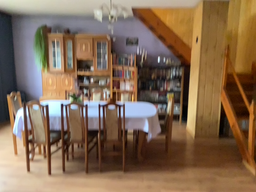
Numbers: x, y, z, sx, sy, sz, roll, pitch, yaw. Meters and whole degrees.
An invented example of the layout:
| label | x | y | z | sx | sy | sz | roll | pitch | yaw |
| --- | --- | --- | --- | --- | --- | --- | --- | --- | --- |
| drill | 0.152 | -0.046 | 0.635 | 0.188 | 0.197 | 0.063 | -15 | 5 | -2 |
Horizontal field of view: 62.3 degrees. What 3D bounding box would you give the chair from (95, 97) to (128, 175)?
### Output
| label | x | y | z | sx | sy | sz | roll | pitch | yaw |
| --- | --- | --- | --- | --- | --- | --- | --- | --- | --- |
| chair | -0.220 | 0.530 | 2.970 | 0.390 | 0.960 | 0.460 | 1 | 9 | 4 |
